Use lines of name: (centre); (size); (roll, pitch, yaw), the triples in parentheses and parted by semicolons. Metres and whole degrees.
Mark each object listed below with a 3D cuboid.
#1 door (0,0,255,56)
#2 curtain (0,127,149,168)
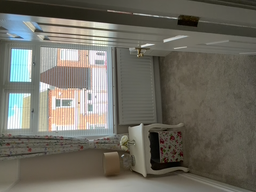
door: (0.180, -0.310, 1.070); (0.930, 2.050, 0.100); (-148, 59, -71)
curtain: (-0.810, 0.670, 2.820); (0.140, 2.230, 0.410); (136, 132, -68)
